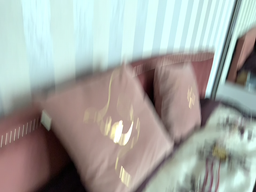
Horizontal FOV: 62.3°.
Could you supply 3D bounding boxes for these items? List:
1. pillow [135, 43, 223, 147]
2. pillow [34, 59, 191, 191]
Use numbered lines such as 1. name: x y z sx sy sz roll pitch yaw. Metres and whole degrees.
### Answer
1. pillow: 0.310 -0.040 1.150 0.140 0.410 0.520 -18 5 41
2. pillow: 0.000 0.130 0.760 0.150 0.420 0.480 -17 6 41
